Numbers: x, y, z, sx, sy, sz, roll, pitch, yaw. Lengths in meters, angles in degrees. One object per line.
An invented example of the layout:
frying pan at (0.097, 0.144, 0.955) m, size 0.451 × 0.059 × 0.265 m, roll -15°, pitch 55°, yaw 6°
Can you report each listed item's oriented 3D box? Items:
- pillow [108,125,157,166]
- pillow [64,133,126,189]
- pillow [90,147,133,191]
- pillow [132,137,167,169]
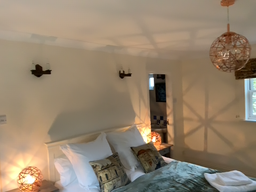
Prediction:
pillow at (0.080, 0.670, 3.010) m, size 0.350 × 0.380 × 0.620 m, roll 0°, pitch 3°, yaw 45°
pillow at (-0.400, 0.730, 2.530) m, size 0.480 × 0.420 × 0.550 m, roll -5°, pitch 3°, yaw -43°
pillow at (-0.180, 0.790, 2.330) m, size 0.340 × 0.360 × 0.160 m, roll -3°, pitch -29°, yaw -45°
pillow at (0.290, 0.760, 2.850) m, size 0.350 × 0.330 × 0.130 m, roll -3°, pitch -43°, yaw -44°
